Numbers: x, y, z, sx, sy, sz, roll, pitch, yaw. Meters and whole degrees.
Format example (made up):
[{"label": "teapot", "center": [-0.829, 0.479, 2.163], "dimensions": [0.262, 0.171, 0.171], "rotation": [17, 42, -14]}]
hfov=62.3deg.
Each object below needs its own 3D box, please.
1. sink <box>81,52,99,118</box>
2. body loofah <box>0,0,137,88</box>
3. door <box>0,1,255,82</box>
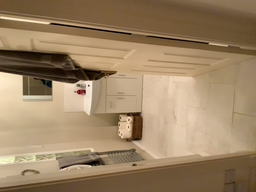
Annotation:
[{"label": "sink", "center": [-0.570, -0.160, 3.130], "dimensions": [0.500, 0.150, 0.890], "rotation": [-168, 79, -67]}, {"label": "body loofah", "center": [-0.580, -0.340, 1.630], "dimensions": [0.460, 1.190, 0.460], "rotation": [158, 111, -65]}, {"label": "door", "center": [-0.150, -0.290, 1.570], "dimensions": [0.860, 2.010, 0.130], "rotation": [158, 111, -65]}]
